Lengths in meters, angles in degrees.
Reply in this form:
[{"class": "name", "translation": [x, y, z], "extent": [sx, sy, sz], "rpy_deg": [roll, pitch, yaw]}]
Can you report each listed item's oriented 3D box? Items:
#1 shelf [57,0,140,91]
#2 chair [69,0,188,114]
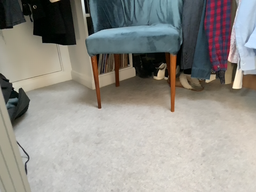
[{"class": "shelf", "translation": [-0.230, -0.810, 1.470], "extent": [0.430, 1.440, 0.400], "rpy_deg": [-21, 29, -34]}, {"class": "chair", "translation": [0.050, -0.320, 1.290], "extent": [0.550, 0.660, 0.520], "rpy_deg": [2, 24, 11]}]
